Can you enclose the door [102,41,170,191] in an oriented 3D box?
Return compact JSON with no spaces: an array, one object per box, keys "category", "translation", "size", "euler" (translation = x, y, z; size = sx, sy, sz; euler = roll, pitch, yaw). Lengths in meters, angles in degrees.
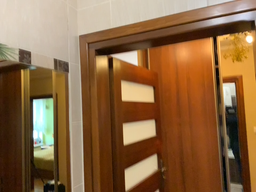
[{"category":"door","translation":[0.160,0.550,1.850],"size":[0.130,1.710,1.250],"euler":[-3,-4,22]}]
